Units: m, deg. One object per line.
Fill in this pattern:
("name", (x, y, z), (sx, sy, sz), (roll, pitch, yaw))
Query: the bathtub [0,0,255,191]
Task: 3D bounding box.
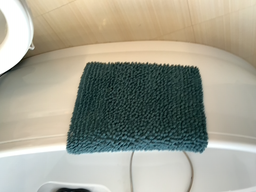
("bathtub", (0.050, 0.210, 1.270), (1.720, 0.600, 1.170), (-15, 139, 16))
